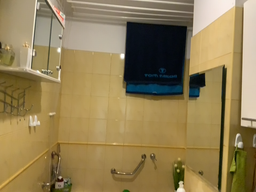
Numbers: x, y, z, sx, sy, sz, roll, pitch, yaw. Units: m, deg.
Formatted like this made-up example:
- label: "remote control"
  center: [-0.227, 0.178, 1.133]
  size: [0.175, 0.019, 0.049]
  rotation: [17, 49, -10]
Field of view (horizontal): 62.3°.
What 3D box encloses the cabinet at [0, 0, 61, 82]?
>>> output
- label: "cabinet"
  center: [-0.540, -0.330, 1.240]
  size: [0.140, 0.440, 0.650]
  rotation: [5, -2, -7]
